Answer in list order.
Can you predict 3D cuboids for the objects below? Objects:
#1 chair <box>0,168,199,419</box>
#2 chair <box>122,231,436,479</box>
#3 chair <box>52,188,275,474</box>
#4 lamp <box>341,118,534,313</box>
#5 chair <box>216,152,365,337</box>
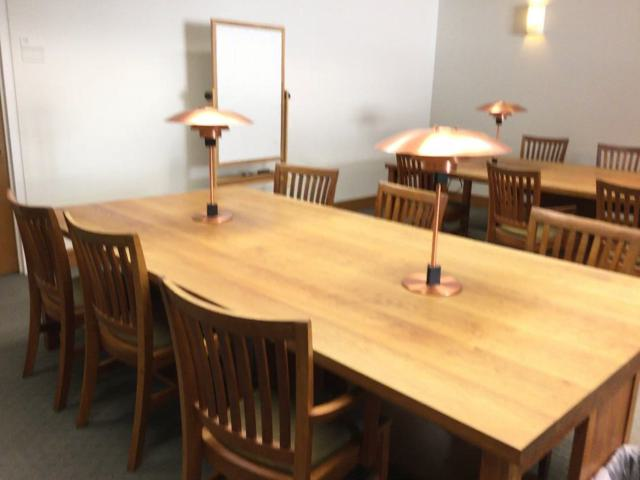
[{"bbox_3d":[-1.050,0.190,2.750,0.670,0.930,0.580,-15,21,-41],"label":"chair"},{"bbox_3d":[-0.110,0.530,1.700,0.620,0.920,0.590,-15,21,-41],"label":"chair"},{"bbox_3d":[-0.620,0.310,2.400,0.650,0.910,0.530,-15,21,-41],"label":"chair"},{"bbox_3d":[0.380,-0.120,1.960,0.390,0.530,0.480,-15,22,-41],"label":"lamp"},{"bbox_3d":[-0.180,-0.020,3.600,0.590,0.940,0.680,-15,22,-41],"label":"chair"}]
